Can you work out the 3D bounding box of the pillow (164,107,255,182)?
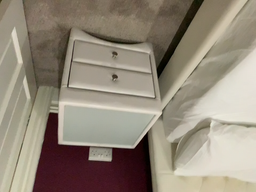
[{"bbox_3d":[0.600,0.290,1.150,0.680,0.240,0.380,6,145,-12],"label":"pillow"}]
